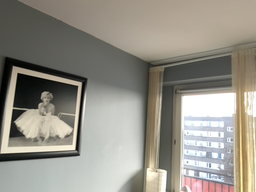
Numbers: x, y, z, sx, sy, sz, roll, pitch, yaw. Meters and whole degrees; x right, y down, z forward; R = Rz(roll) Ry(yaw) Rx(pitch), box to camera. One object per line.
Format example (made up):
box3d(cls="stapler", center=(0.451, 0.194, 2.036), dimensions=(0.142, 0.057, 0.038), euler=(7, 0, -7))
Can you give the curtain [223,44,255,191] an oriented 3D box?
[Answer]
box3d(cls="curtain", center=(1.070, 0.780, 1.910), dimensions=(0.290, 2.470, 0.280), euler=(-4, -11, 39))
